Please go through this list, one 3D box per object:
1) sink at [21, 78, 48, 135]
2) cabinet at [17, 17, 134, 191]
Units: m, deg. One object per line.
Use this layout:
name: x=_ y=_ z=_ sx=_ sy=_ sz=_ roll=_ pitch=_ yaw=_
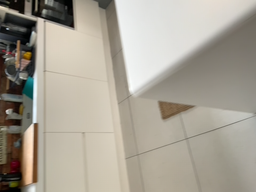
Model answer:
sink: x=-0.940 y=0.120 z=2.120 sx=0.400 sy=0.140 sz=0.440 roll=-34 pitch=58 yaw=45
cabinet: x=-0.590 y=0.350 z=2.260 sx=0.600 sy=0.910 sz=2.180 roll=-34 pitch=58 yaw=45
